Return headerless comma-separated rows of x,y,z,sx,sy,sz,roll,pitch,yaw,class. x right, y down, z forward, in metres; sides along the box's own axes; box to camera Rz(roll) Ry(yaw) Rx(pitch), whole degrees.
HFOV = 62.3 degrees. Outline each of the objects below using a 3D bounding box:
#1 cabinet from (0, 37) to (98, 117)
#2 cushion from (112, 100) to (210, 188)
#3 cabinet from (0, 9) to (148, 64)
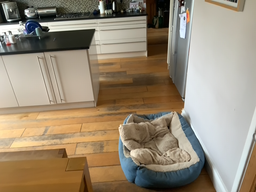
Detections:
-1.460,-0.220,2.750,2.010,0.900,0.390,-2,30,1,cabinet
0.260,0.410,2.170,0.770,0.210,1.030,-2,30,1,cushion
-1.060,-1.280,4.570,2.930,0.900,0.610,-2,30,1,cabinet
